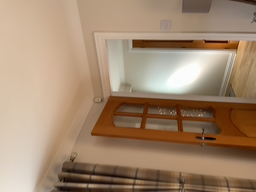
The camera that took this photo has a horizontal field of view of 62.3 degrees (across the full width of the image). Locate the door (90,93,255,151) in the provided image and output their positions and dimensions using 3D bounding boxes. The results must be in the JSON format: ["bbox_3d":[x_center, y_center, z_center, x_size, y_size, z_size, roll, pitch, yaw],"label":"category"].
[{"bbox_3d":[0.670,0.230,2.160,0.740,1.940,0.120,-71,-18,-63],"label":"door"}]
